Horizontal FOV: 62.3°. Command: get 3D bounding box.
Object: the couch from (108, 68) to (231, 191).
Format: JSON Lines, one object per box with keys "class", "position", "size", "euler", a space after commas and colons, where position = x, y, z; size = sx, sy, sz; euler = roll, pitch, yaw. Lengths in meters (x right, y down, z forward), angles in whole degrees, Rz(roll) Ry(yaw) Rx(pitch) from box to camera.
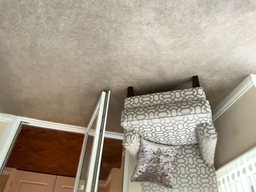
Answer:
{"class": "couch", "position": [0.400, 0.450, 2.020], "size": [0.800, 0.890, 0.960], "euler": [-8, 141, 14]}
